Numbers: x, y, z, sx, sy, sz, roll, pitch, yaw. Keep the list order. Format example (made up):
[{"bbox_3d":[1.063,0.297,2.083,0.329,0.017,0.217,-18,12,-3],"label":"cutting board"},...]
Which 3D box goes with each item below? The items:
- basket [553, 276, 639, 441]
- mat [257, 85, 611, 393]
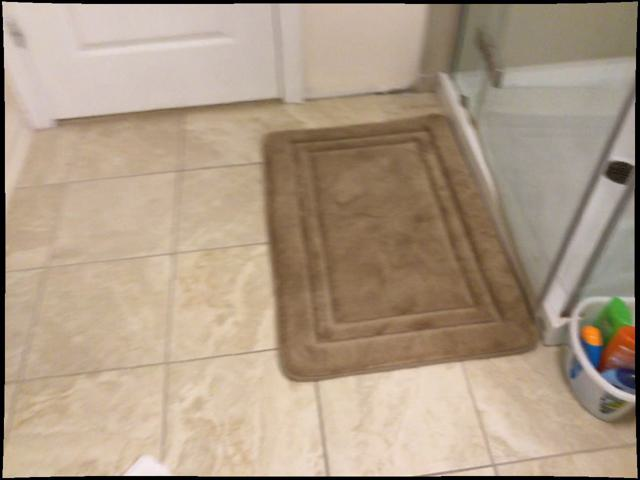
[{"bbox_3d":[0.759,0.230,1.200,0.410,0.230,0.240,-7,49,-2],"label":"basket"},{"bbox_3d":[0.220,-0.080,1.590,0.739,0.090,0.941,-7,49,-2],"label":"mat"}]
